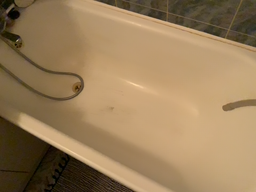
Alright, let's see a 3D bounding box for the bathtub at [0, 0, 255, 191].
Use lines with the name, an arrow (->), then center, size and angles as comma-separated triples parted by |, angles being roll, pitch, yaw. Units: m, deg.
bathtub -> -0.020, 0.040, 1.140 | 1.350, 0.590, 0.690 | 23, 73, 17
